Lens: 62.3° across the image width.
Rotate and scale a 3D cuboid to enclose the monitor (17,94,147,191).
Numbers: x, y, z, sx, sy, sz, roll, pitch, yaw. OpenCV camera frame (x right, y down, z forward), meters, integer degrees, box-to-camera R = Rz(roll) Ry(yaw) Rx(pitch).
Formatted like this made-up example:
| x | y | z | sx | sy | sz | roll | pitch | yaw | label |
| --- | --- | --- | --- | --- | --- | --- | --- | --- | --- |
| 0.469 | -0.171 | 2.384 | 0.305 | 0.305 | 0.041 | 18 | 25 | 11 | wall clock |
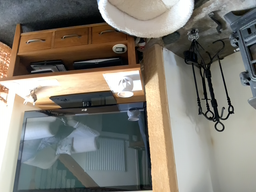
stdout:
| x | y | z | sx | sy | sz | roll | pitch | yaw | label |
| --- | --- | --- | --- | --- | --- | --- | --- | --- | --- |
| -0.330 | 0.330 | 1.570 | 0.900 | 0.660 | 0.040 | -4 | 157 | 5 | monitor |
